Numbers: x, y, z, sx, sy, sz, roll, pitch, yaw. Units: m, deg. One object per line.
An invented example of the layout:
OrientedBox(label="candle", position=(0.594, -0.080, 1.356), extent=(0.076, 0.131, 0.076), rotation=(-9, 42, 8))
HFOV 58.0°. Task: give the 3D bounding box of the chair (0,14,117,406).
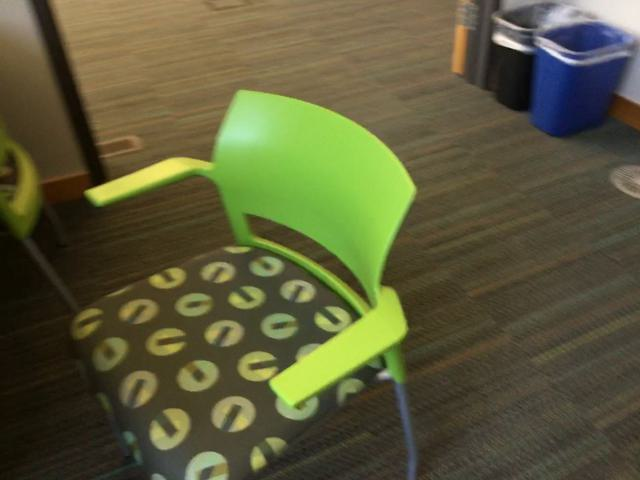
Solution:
OrientedBox(label="chair", position=(-0.970, -0.070, 1.500), extent=(0.550, 0.780, 0.680), rotation=(-19, 39, -19))

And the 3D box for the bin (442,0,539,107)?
OrientedBox(label="bin", position=(0.770, -0.870, 2.650), extent=(0.300, 0.390, 0.240), rotation=(-19, 39, -20))

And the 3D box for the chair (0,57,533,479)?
OrientedBox(label="chair", position=(-0.130, 0.190, 1.130), extent=(0.720, 0.790, 0.600), rotation=(27, 47, 35))

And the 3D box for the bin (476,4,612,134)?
OrientedBox(label="bin", position=(0.930, -0.730, 2.450), extent=(0.360, 0.390, 0.320), rotation=(-19, 39, -19))
